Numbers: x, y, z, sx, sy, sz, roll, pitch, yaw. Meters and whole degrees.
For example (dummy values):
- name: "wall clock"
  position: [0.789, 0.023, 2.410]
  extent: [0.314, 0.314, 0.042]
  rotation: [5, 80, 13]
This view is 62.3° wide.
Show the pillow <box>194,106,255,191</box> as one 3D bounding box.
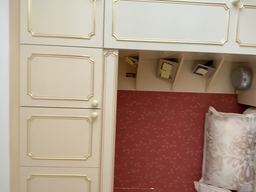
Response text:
- name: "pillow"
  position: [0.880, 0.470, 1.910]
  extent: [0.230, 0.440, 0.730]
  rotation: [0, -95, -61]
